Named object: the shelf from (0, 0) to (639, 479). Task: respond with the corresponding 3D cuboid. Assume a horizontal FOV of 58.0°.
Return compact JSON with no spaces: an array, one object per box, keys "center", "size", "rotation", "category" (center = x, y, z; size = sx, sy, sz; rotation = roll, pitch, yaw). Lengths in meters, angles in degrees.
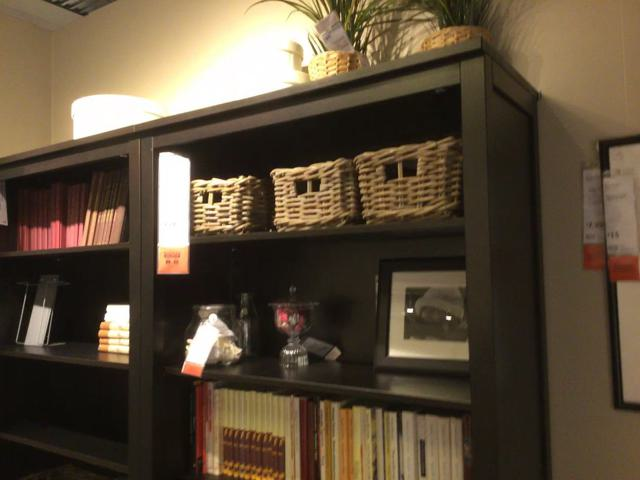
[{"center":[-0.360,0.460,1.420],"size":[1.920,2.210,0.680],"rotation":[-6,-6,38],"category":"shelf"}]
